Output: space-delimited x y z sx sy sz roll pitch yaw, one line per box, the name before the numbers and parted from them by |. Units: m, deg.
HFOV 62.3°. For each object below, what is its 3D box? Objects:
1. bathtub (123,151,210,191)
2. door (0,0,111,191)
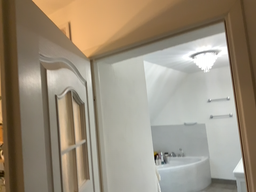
bathtub | 0.860 1.630 4.560 1.370 0.550 1.350 -8 -5 35
door | -0.190 0.740 0.890 0.100 2.100 0.800 -6 -4 7
